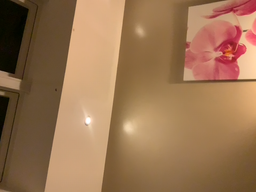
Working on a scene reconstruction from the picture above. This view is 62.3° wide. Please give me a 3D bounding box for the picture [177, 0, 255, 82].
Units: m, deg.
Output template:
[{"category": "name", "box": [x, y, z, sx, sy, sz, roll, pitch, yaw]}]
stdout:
[{"category": "picture", "box": [0.920, -0.460, 1.670, 0.060, 1.010, 0.710, 22, -107, -59]}]
